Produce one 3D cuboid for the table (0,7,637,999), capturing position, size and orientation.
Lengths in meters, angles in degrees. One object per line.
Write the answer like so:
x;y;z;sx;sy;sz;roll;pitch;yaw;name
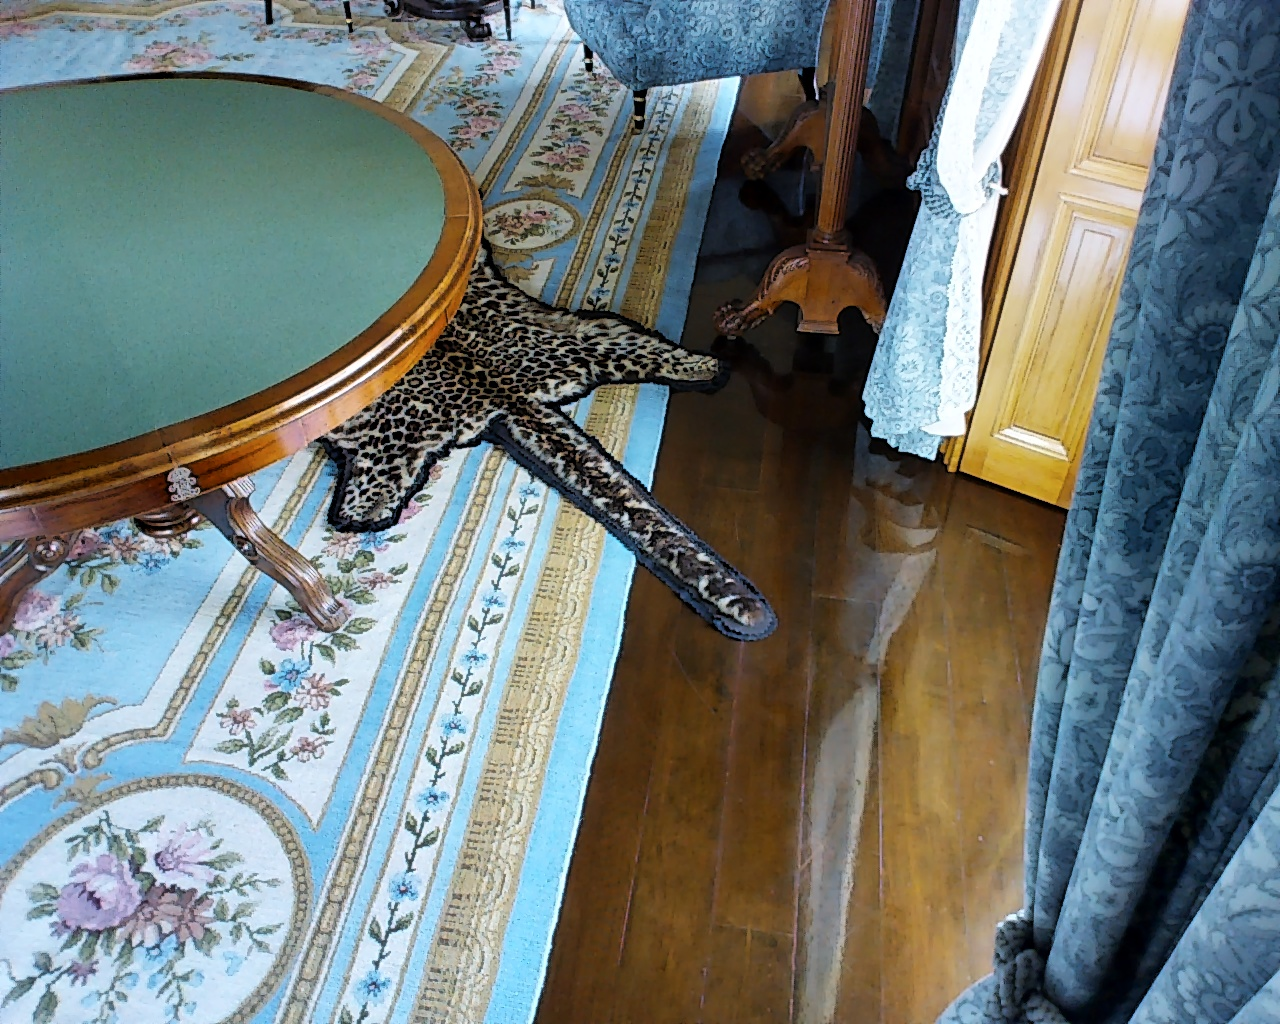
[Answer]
-0.960;-0.230;1.980;1.370;0.730;1.410;23;47;23;table
